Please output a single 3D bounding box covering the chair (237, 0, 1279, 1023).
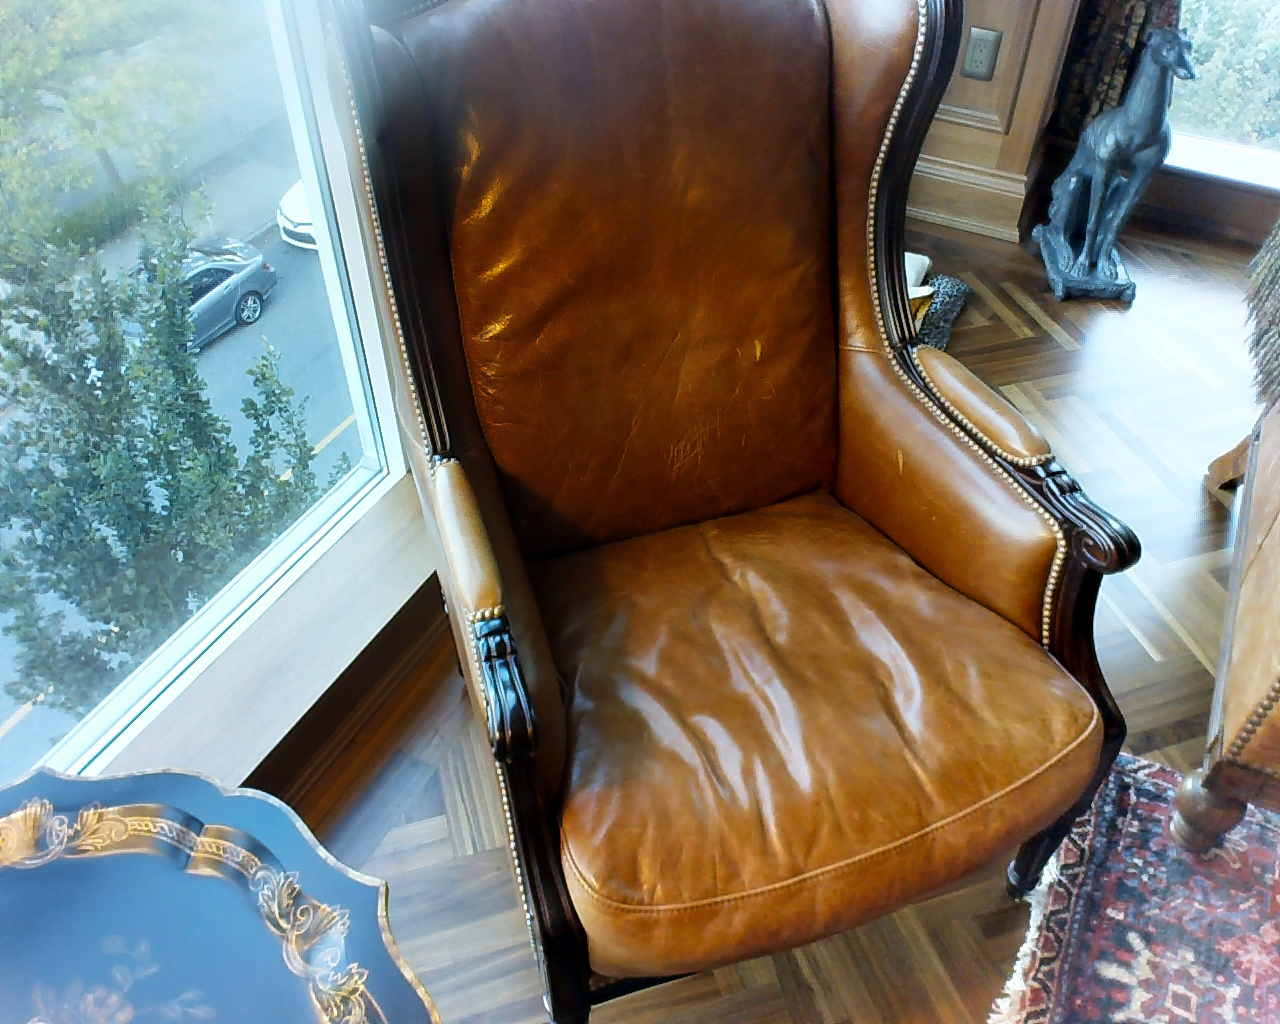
[{"bbox_3d":[0.100,-0.020,1.310,0.830,1.140,0.960,-14,46,-15],"label":"chair"}]
